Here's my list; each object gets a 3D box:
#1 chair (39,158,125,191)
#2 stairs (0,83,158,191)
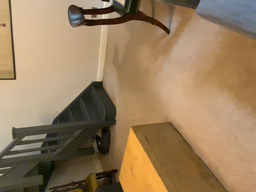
[{"bbox_3d":[-0.720,1.430,3.210,0.710,1.120,0.510,111,147,-44],"label":"chair"},{"bbox_3d":[-1.220,1.010,2.920,2.010,2.270,1.570,-127,40,-52],"label":"stairs"}]
